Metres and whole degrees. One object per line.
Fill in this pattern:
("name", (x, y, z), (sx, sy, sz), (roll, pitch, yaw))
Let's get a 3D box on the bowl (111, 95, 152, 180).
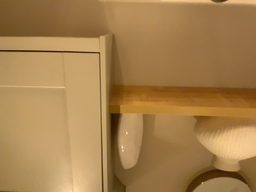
("bowl", (0.020, 0.190, 1.070), (0.170, 0.310, 0.290), (2, -161, 3))
